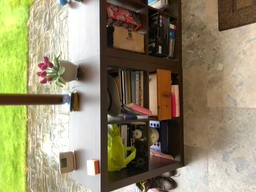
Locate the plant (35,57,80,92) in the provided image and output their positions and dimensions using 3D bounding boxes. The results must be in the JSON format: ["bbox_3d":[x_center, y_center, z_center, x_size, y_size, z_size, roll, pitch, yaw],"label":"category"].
[{"bbox_3d":[-0.450,-0.130,1.340,0.260,0.180,0.190,6,95,48],"label":"plant"}]

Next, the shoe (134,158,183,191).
[{"bbox_3d":[0.240,0.680,1.710,0.330,0.210,0.240,3,92,48],"label":"shoe"}]
